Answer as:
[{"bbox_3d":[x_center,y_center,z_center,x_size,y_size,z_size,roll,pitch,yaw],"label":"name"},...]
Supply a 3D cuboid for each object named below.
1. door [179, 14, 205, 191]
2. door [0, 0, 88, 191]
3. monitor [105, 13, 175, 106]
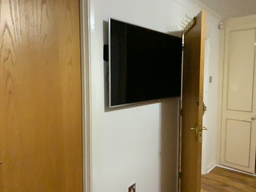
[{"bbox_3d":[0.610,0.320,2.110,0.080,2.000,0.730,1,5,8],"label":"door"},{"bbox_3d":[-0.530,0.340,1.280,0.060,1.940,0.650,5,7,42],"label":"door"},{"bbox_3d":[0.170,-0.290,1.910,0.040,0.660,0.980,4,7,40],"label":"monitor"}]
